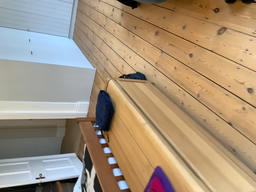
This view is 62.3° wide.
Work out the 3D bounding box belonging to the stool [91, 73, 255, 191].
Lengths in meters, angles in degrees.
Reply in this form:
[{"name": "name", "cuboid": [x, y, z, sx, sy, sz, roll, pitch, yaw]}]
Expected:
[{"name": "stool", "cuboid": [0.190, 0.350, 1.540, 1.330, 0.480, 0.510, 49, 129, 51]}]
